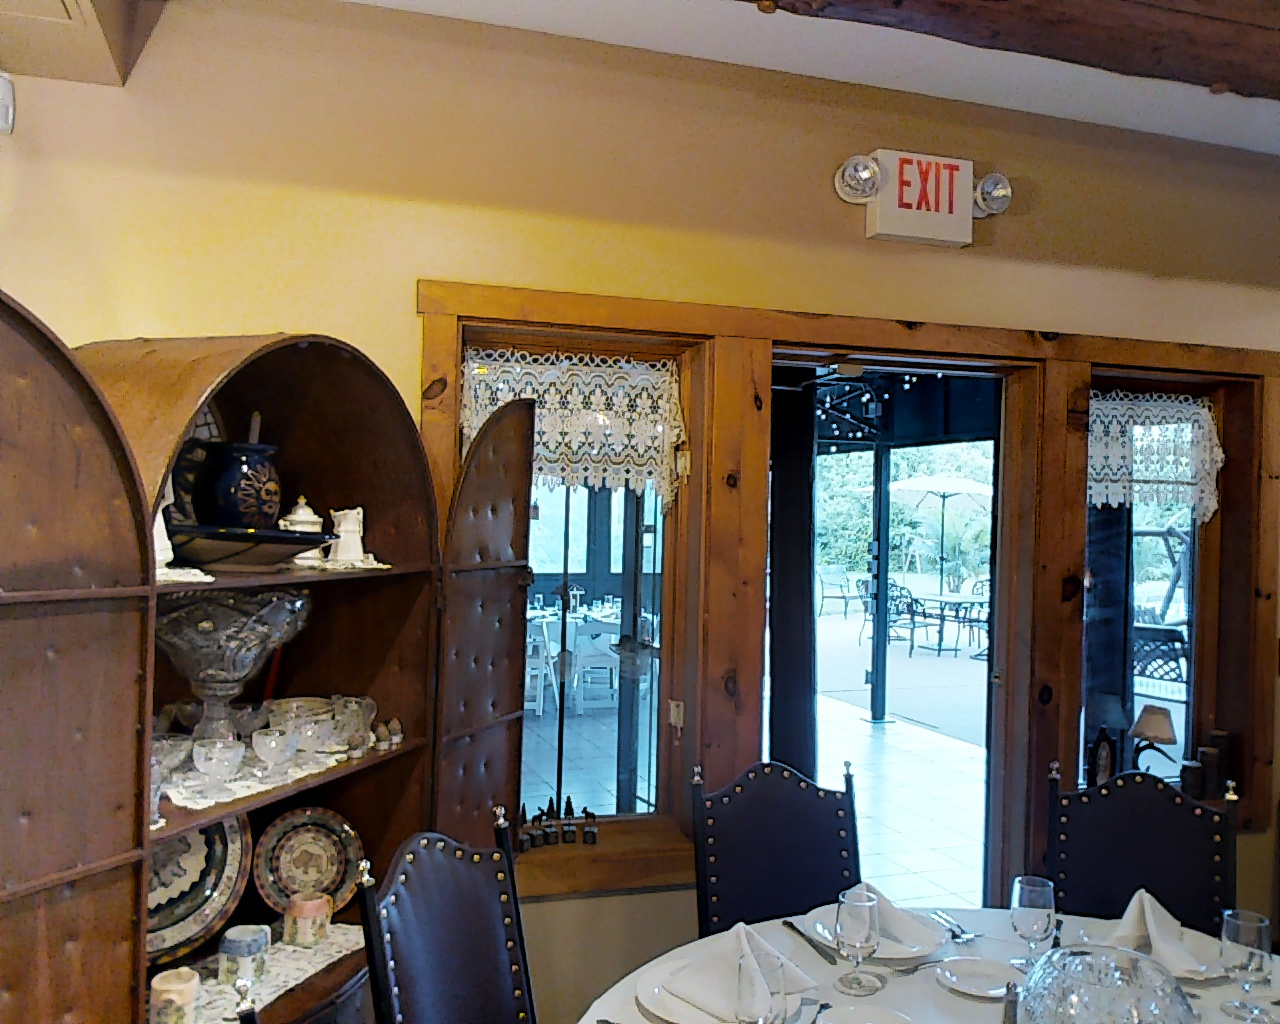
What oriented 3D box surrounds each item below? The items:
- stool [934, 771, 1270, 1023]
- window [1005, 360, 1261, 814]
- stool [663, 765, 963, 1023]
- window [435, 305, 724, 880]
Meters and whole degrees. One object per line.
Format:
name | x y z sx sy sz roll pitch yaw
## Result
stool | 1.020 1.110 2.340 0.570 0.890 0.640 0 0 33
window | 1.750 0.250 3.840 0.750 1.490 0.390 1 0 -18
stool | 0.360 1.090 2.390 0.490 0.920 0.480 1 0 -17
window | -0.190 0.220 3.210 0.770 1.550 0.390 1 0 -18
